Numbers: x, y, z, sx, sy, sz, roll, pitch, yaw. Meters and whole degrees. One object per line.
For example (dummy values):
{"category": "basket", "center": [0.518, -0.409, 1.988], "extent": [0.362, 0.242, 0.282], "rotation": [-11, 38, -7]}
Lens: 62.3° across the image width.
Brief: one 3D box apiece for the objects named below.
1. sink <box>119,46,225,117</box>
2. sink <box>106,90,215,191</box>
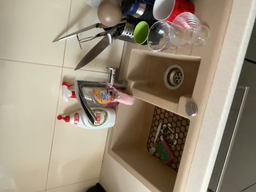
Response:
{"category": "sink", "center": [0.160, -0.080, 0.930], "extent": [0.420, 0.150, 0.220], "rotation": [22, 104, 49]}
{"category": "sink", "center": [0.120, 0.190, 0.990], "extent": [0.420, 0.190, 0.340], "rotation": [22, 104, 49]}
